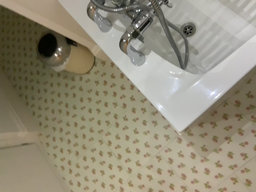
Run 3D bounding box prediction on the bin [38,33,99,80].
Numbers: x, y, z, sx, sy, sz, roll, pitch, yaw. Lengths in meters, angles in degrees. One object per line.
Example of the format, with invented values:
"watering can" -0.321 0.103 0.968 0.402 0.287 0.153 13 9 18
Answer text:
"bin" -0.340 -0.220 1.270 0.180 0.310 0.110 -47 71 12
